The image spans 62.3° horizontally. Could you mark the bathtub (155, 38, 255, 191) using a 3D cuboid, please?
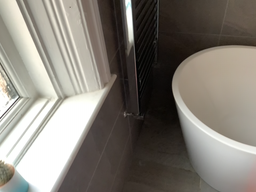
[{"bbox_3d":[1.100,0.220,1.200,1.740,0.590,0.840,9,46,14],"label":"bathtub"}]
